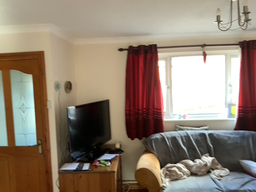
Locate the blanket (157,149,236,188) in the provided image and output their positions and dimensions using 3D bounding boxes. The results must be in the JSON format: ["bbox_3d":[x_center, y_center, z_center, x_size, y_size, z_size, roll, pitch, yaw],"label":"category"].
[{"bbox_3d":[0.820,0.900,2.680,0.860,0.290,0.470,-2,4,2],"label":"blanket"}]
